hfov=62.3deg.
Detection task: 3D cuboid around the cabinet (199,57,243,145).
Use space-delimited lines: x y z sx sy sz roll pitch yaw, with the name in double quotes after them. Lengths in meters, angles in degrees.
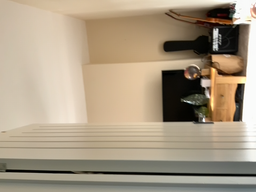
1.370 0.050 3.230 0.570 0.420 1.230 -66 -26 -75 "cabinet"
